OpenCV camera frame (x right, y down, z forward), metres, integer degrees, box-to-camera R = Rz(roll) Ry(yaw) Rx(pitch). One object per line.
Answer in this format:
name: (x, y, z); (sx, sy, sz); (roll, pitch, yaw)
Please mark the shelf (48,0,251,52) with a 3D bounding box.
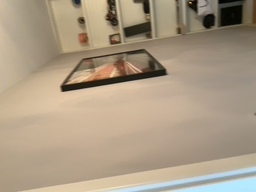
shelf: (0.340, -1.240, 2.980); (0.220, 2.740, 0.820); (-104, 5, -72)
